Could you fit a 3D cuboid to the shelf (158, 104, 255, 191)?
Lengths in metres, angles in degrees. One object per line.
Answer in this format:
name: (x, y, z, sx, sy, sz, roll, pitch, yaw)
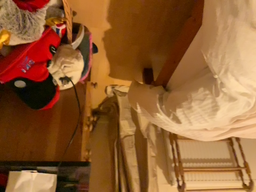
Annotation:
shelf: (0.690, 0.450, 1.920, 0.730, 0.730, 0.190, 3, 149, -10)
